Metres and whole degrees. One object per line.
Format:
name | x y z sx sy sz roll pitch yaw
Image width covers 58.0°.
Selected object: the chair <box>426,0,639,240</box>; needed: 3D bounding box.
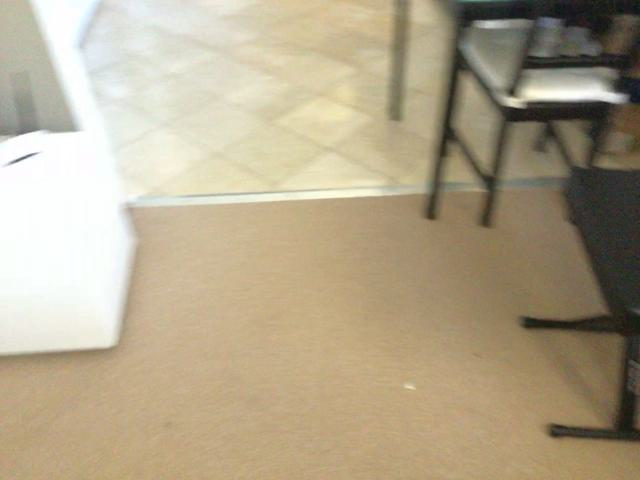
chair | 0.630 -0.550 1.710 0.450 0.830 0.700 -2 42 0
